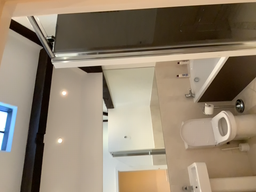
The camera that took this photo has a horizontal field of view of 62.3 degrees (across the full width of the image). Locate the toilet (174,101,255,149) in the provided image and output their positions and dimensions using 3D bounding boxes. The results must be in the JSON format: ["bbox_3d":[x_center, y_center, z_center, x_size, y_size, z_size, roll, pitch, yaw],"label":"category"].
[{"bbox_3d":[1.120,0.390,2.700,0.650,0.890,0.390,88,179,-64],"label":"toilet"}]
